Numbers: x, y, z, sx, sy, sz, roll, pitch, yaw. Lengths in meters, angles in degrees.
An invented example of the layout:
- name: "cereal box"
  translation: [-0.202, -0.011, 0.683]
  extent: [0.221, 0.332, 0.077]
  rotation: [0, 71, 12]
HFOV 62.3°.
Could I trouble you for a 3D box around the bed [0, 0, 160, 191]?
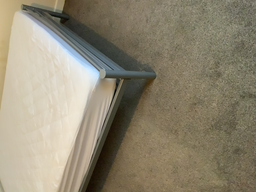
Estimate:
- name: "bed"
  translation: [-0.810, 0.340, 2.150]
  extent: [1.520, 0.540, 2.070]
  rotation: [40, 118, 35]
